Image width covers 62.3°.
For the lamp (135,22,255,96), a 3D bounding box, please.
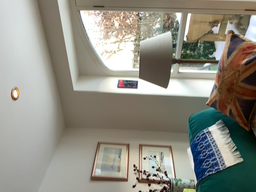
[{"bbox_3d":[0.510,-0.350,1.890,0.520,0.860,0.460,-83,-5,-56],"label":"lamp"}]
